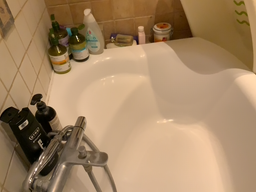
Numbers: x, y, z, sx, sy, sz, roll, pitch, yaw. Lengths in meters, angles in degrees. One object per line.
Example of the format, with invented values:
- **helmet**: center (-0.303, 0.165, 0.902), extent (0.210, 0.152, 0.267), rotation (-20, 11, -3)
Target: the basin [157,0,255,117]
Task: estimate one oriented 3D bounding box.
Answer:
- **basin**: center (0.420, -0.330, 0.940), extent (0.450, 0.680, 0.440), rotation (-9, 44, -5)
